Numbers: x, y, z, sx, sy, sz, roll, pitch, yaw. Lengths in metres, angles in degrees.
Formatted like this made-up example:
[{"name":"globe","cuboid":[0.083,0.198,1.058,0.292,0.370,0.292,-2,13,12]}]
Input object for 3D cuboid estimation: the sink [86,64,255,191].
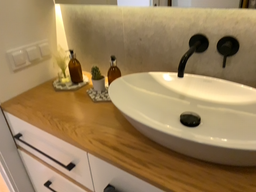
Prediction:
[{"name":"sink","cuboid":[0.230,0.060,0.700,0.650,0.110,0.360,16,35,31]}]
